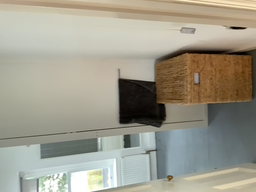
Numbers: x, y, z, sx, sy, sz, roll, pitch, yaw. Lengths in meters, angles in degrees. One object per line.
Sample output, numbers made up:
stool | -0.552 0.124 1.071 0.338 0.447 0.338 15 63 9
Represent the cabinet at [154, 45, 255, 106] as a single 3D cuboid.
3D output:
cabinet | 0.650 -0.160 1.920 0.600 0.620 0.440 178 89 -72
